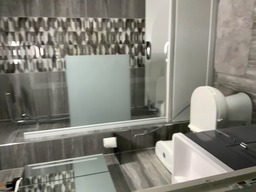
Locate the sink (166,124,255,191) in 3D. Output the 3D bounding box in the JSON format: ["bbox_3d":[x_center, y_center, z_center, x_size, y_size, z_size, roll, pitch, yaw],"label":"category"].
[{"bbox_3d":[0.430,0.500,1.280,0.630,0.120,0.460,-142,49,-69],"label":"sink"}]

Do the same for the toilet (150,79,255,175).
[{"bbox_3d":[0.650,0.230,1.940,0.430,0.780,0.670,-143,50,-69],"label":"toilet"}]

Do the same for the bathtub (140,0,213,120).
[{"bbox_3d":[0.520,-0.620,2.490,0.670,0.550,1.610,-145,52,-70],"label":"bathtub"}]
